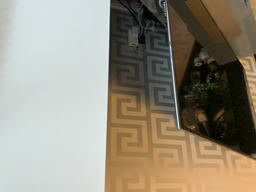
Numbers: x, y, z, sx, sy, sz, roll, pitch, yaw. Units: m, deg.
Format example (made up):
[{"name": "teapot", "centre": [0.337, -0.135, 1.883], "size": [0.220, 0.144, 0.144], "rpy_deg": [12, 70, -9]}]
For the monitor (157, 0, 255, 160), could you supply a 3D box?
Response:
[{"name": "monitor", "centre": [0.480, -0.090, 1.090], "size": [0.060, 0.720, 1.150], "rpy_deg": [-18, 152, 35]}]
